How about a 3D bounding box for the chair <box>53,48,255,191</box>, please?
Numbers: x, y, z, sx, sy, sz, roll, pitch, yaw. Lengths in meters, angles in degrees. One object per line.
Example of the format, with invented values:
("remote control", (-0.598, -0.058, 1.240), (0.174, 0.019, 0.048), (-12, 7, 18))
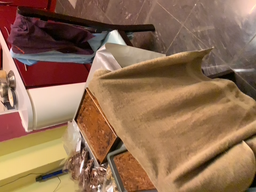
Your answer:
("chair", (0.260, 0.140, 1.040), (0.440, 1.010, 0.570), (56, 136, 25))
